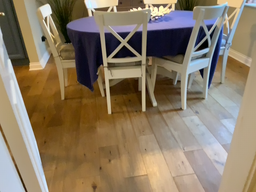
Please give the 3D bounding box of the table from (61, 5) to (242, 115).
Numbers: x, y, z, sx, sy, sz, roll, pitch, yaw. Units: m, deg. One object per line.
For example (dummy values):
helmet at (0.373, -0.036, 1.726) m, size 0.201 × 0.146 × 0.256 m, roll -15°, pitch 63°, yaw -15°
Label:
table at (0.140, -0.510, 2.360) m, size 1.530 × 0.740 × 1.100 m, roll -8°, pitch 30°, yaw -10°

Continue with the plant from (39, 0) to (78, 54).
plant at (-1.100, -1.230, 3.410) m, size 0.450 × 1.010 × 0.270 m, roll -7°, pitch 30°, yaw -9°

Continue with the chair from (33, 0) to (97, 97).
chair at (-0.620, -0.510, 2.240) m, size 0.450 × 0.900 × 0.400 m, roll -8°, pitch 30°, yaw -10°

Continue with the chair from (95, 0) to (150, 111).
chair at (-0.050, -0.370, 1.960) m, size 0.400 × 0.890 × 0.450 m, roll -5°, pitch 30°, yaw -4°
